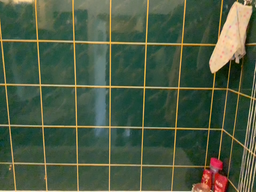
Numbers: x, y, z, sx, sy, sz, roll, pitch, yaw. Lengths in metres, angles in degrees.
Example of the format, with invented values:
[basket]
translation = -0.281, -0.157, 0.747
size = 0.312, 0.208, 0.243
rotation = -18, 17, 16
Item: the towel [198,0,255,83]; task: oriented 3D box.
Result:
[towel]
translation = 0.540, -0.300, 1.110
size = 0.210, 0.430, 0.230
rotation = 0, 12, -8
